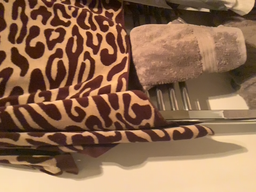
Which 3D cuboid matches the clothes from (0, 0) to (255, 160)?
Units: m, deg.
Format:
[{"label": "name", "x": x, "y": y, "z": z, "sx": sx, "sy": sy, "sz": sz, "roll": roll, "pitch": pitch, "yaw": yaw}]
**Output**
[{"label": "clothes", "x": -0.130, "y": -0.140, "z": 0.630, "sx": 0.150, "sy": 1.160, "sz": 0.590, "roll": 114, "pitch": 153, "yaw": -61}]
